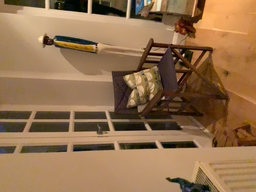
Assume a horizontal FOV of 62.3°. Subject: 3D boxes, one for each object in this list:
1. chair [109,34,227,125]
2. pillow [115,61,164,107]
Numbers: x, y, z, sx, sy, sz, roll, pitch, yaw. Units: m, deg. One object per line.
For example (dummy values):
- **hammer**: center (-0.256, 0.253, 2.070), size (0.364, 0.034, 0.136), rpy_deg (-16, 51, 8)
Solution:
- **chair**: center (0.300, -0.110, 2.010), size (0.620, 0.840, 0.570), rpy_deg (118, 150, -59)
- **pillow**: center (0.120, -0.120, 2.010), size (0.170, 0.350, 0.350), rpy_deg (73, -146, -56)
